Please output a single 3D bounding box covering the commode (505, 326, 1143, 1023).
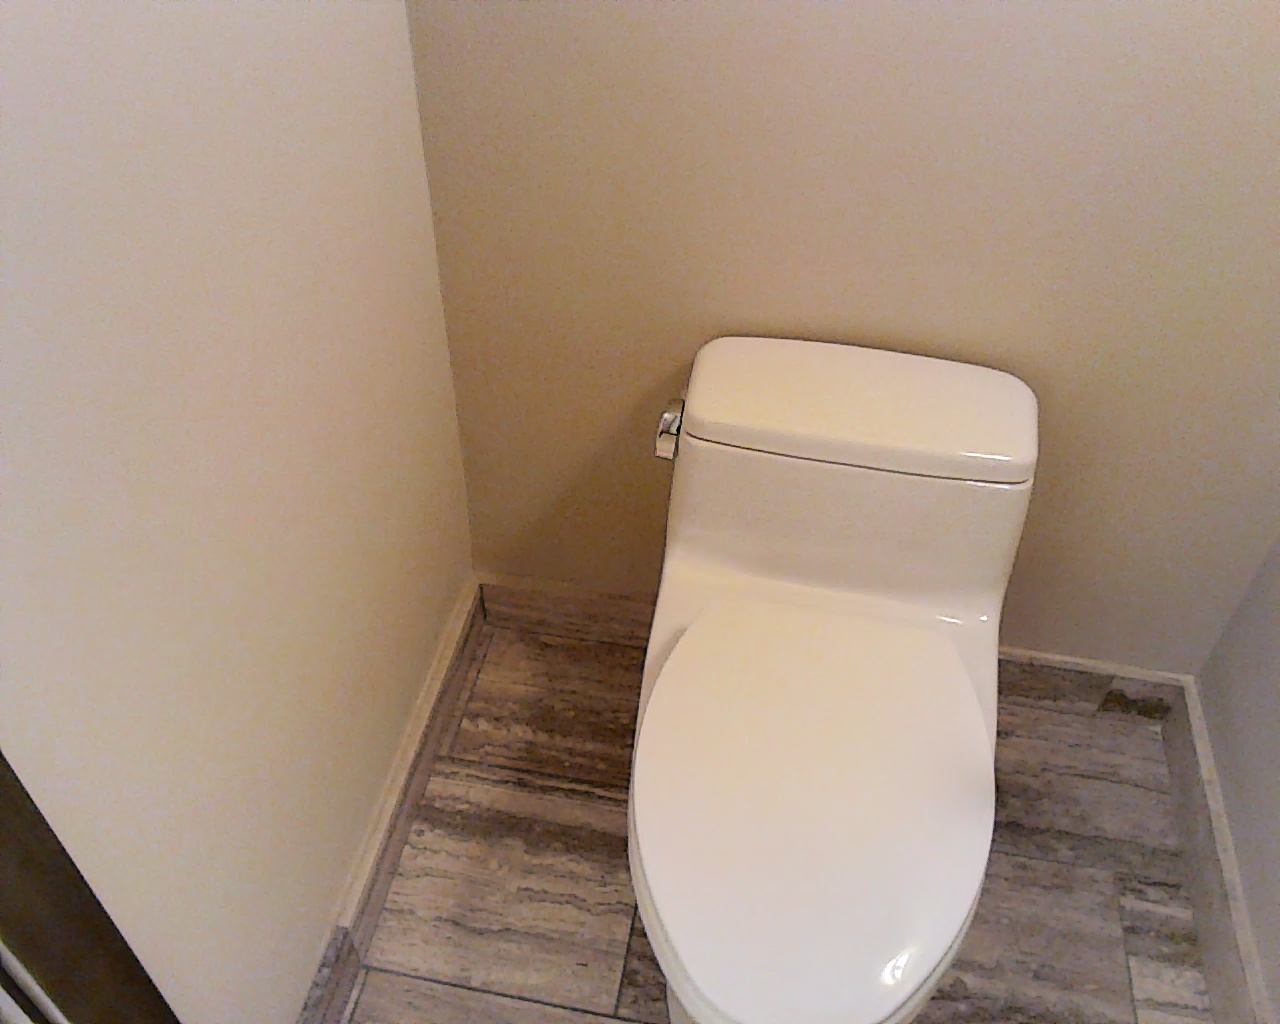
[{"bbox_3d":[0.190,0.290,1.190,0.420,0.610,0.780,8,44,8],"label":"commode"}]
